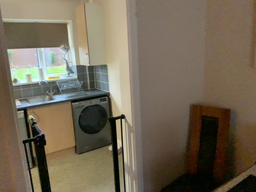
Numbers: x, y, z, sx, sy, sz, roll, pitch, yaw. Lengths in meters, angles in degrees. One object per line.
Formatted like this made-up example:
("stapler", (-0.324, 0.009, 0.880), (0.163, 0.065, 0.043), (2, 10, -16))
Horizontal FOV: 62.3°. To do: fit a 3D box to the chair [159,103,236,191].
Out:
("chair", (0.570, 0.650, 1.730), (0.360, 1.040, 0.570), (9, 17, 41))
